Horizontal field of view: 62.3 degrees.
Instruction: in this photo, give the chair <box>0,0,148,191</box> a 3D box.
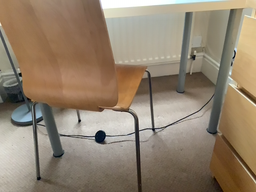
[{"bbox_3d":[-0.160,-0.040,0.900,0.420,0.830,0.510,4,33,12],"label":"chair"}]
